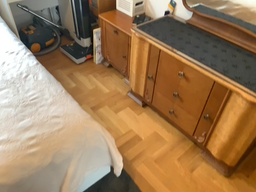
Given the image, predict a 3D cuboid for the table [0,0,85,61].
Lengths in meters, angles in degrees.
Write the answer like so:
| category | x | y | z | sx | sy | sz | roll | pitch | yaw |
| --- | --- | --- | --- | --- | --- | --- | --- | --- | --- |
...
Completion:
| category | x | y | z | sx | sy | sz | roll | pitch | yaw |
| --- | --- | --- | --- | --- | --- | --- | --- | --- | --- |
| table | -1.010 | -0.990 | 2.490 | 0.730 | 0.780 | 0.550 | -29 | 52 | -29 |
